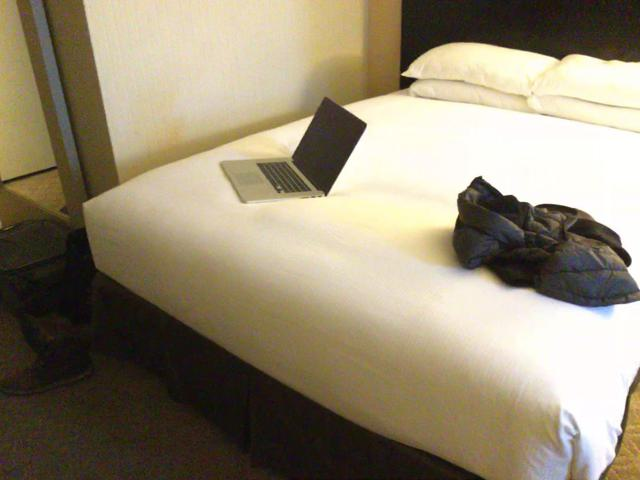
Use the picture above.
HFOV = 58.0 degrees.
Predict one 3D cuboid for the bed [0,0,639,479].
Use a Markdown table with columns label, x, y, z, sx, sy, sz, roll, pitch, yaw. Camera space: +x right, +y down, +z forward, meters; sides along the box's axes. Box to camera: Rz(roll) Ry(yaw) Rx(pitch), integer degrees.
| label | x | y | z | sx | sy | sz | roll | pitch | yaw |
| --- | --- | --- | --- | --- | --- | --- | --- | --- | --- |
| bed | 0.450 | -0.210 | 2.020 | 1.580 | 1.070 | 2.110 | 7 | 24 | 38 |

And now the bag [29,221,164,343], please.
| label | x | y | z | sx | sy | sz | roll | pitch | yaw |
| --- | --- | --- | --- | --- | --- | --- | --- | --- | --- |
| bag | -0.870 | 0.150 | 2.270 | 0.330 | 0.320 | 0.310 | 13 | 28 | 37 |

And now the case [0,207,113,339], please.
| label | x | y | z | sx | sy | sz | roll | pitch | yaw |
| --- | --- | --- | --- | --- | --- | --- | --- | --- | --- |
| case | -1.270 | 0.110 | 2.470 | 0.660 | 0.310 | 0.380 | 13 | 28 | 37 |

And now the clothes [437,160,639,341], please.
| label | x | y | z | sx | sy | sz | roll | pitch | yaw |
| --- | --- | --- | --- | --- | --- | --- | --- | --- | --- |
| clothes | 0.530 | -0.010 | 1.290 | 0.390 | 0.210 | 0.390 | 13 | 28 | 37 |
